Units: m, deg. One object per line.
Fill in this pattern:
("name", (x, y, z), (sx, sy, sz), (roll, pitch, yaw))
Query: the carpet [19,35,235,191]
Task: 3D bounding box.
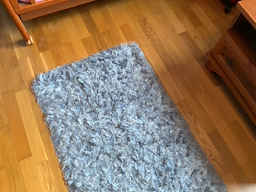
("carpet", (-0.030, 0.250, 1.160), (0.710, 0.070, 1.200), (-27, 71, -14))
